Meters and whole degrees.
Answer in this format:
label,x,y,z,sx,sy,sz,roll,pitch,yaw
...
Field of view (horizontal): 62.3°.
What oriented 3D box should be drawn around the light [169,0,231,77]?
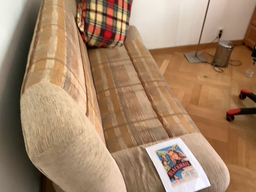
label,x,y,z,sx,sy,sz,roll,pitch,yaw
light,0.770,-0.960,2.220,0.320,1.480,0.470,-6,41,-10
